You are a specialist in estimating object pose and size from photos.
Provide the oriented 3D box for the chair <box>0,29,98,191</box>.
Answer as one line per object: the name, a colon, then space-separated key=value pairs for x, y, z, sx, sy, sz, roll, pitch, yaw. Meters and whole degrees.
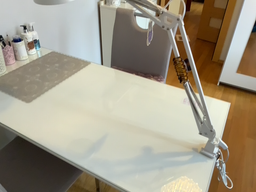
chair: x=-0.500 y=0.310 z=0.950 sx=0.490 sy=1.000 sz=0.510 roll=19 pitch=39 yaw=21

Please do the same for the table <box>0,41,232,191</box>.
table: x=-0.210 y=0.290 z=1.190 sx=1.190 sy=0.770 sz=0.630 roll=19 pitch=39 yaw=22
